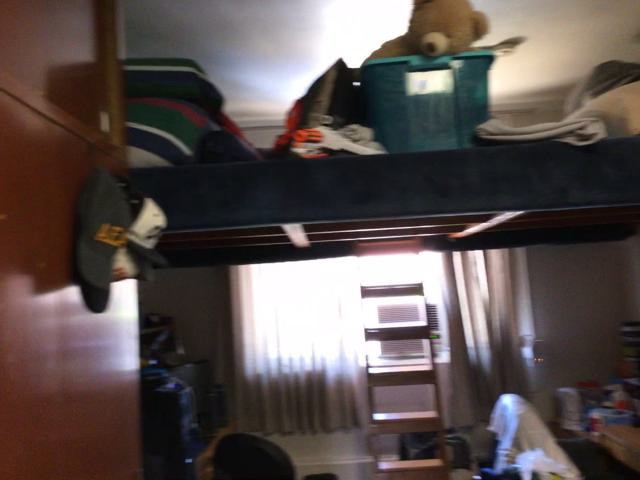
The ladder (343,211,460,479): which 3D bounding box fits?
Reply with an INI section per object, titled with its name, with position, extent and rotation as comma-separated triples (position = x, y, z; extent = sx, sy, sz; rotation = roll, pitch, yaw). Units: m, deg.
[ladder]
position = 0.470, 0.820, 3.410
extent = 0.540, 1.920, 0.370
rotation = -3, -5, 0
